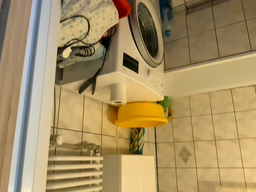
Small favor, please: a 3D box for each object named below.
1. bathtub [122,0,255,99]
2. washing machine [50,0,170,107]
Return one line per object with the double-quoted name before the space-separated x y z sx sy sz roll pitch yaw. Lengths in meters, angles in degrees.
"bathtub" 0.860 -0.450 1.840 1.700 0.590 0.690 -9 162 28
"washing machine" -0.070 -0.430 1.420 0.480 0.860 0.610 -9 162 27
